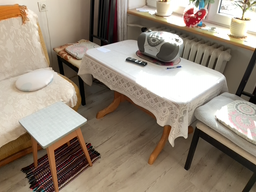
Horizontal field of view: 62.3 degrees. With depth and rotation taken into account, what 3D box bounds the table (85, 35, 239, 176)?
[{"bbox_3d":[0.230,-0.020,1.870,0.710,0.610,1.000,-28,46,-35],"label":"table"}]
